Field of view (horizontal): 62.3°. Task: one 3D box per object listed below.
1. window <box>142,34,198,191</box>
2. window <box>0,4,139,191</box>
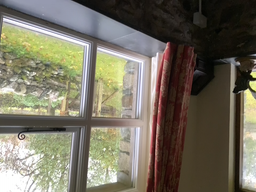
[{"bbox_3d":[0.360,0.230,1.770,0.400,1.370,0.200,8,174,-43],"label":"window"},{"bbox_3d":[-0.520,0.160,1.350,1.530,1.240,0.100,8,174,-44],"label":"window"}]
